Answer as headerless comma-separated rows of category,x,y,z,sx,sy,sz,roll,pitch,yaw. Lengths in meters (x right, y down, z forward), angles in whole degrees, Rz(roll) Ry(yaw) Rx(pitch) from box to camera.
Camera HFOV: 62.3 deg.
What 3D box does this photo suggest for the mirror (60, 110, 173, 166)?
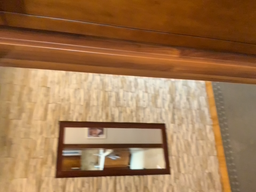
mirror,-0.100,0.460,2.340,0.130,1.200,0.550,134,137,-68
